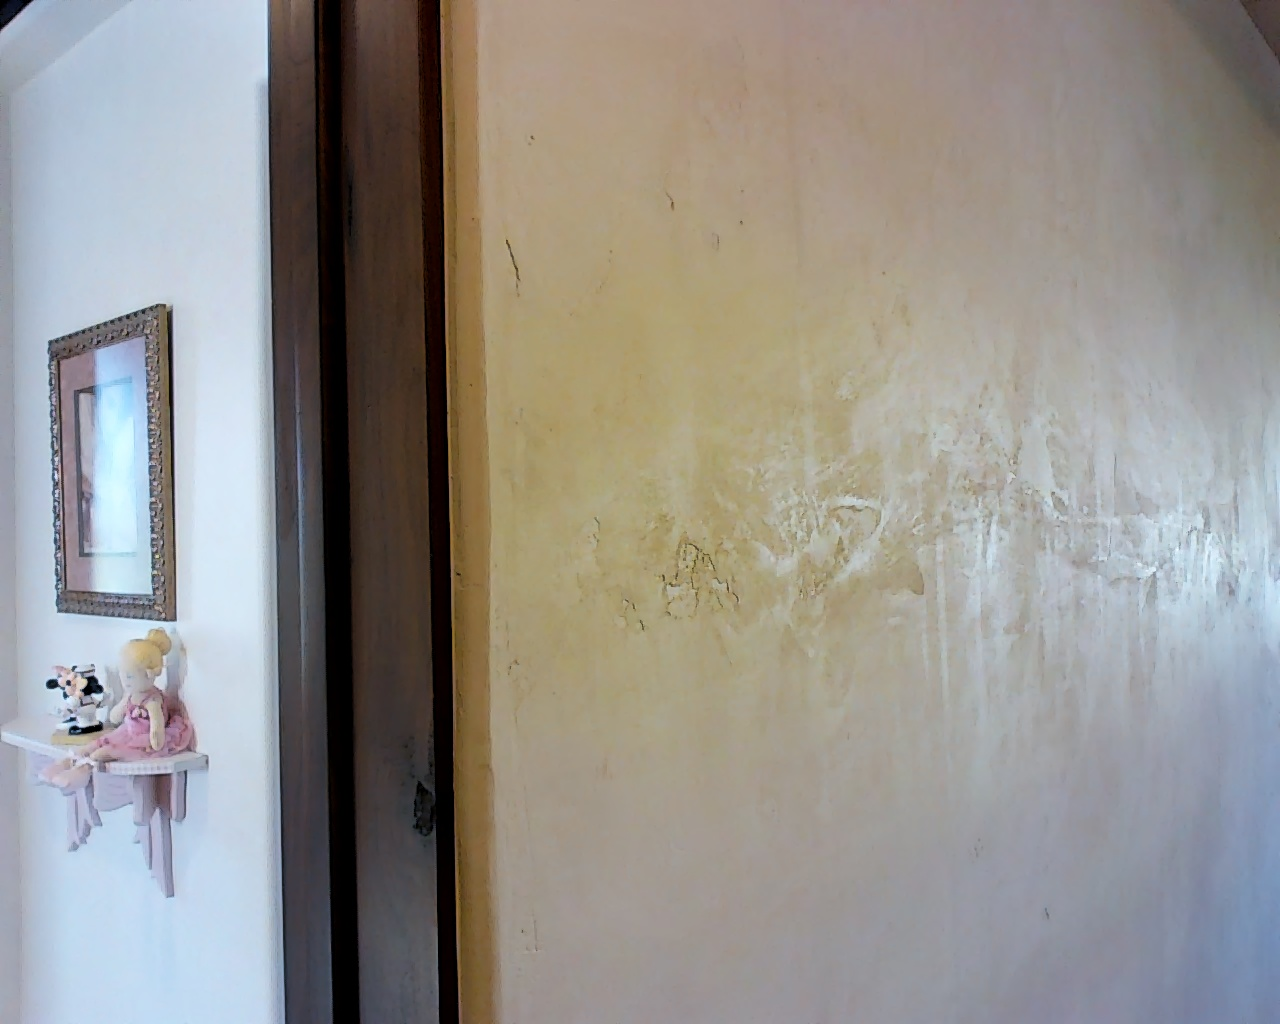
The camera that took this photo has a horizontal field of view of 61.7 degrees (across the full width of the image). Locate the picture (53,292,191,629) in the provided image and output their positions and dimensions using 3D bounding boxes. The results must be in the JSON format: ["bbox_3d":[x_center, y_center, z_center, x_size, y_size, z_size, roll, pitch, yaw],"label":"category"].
[{"bbox_3d":[-1.090,-0.090,2.230,0.550,0.640,0.040,-2,-2,41],"label":"picture"}]
